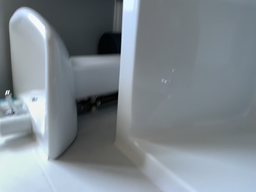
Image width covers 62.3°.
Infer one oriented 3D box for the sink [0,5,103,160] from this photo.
[{"bbox_3d":[-0.370,-0.120,0.940,0.620,0.200,0.490,29,122,45],"label":"sink"}]
